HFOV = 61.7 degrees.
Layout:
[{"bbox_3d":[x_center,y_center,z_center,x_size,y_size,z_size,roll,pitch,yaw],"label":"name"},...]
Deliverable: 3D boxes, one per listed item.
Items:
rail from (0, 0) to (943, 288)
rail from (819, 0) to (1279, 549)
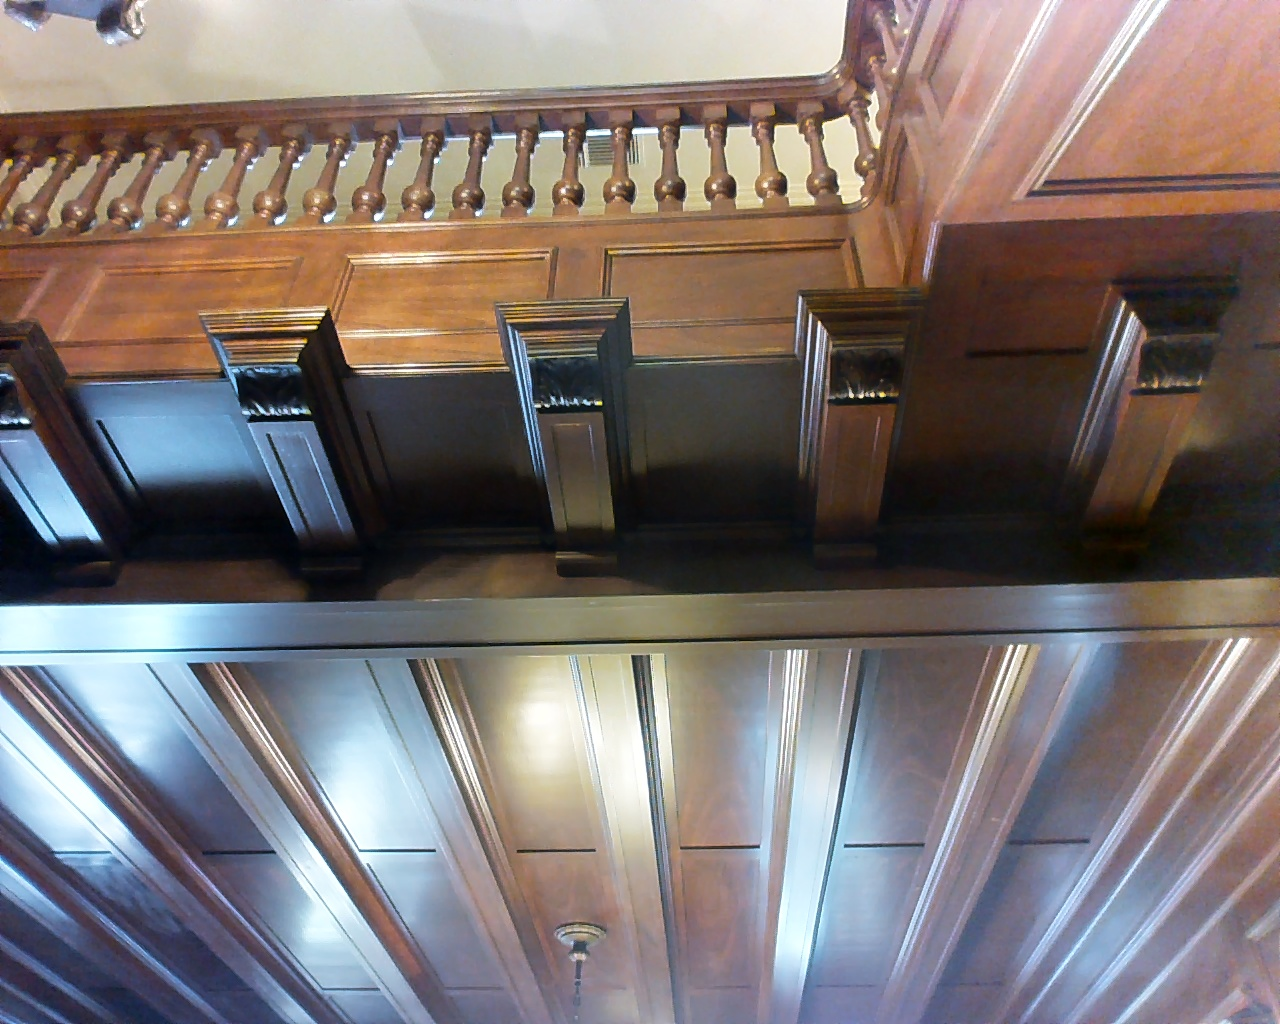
[{"bbox_3d":[-1.620,-1.060,2.990,4.649,0.930,0.360,-2,-41,3],"label":"rail"},{"bbox_3d":[1.250,-1.020,2.220,1.500,1.800,1.190,-2,-41,3],"label":"rail"}]
